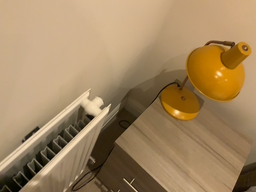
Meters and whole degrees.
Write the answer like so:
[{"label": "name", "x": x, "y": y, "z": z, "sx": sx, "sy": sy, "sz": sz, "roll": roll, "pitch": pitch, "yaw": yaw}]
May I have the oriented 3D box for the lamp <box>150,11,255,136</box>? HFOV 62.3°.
[{"label": "lamp", "x": 0.260, "y": -0.060, "z": 0.700, "sx": 0.200, "sy": 0.300, "sz": 0.210, "roll": 41, "pitch": 55, "yaw": 10}]
